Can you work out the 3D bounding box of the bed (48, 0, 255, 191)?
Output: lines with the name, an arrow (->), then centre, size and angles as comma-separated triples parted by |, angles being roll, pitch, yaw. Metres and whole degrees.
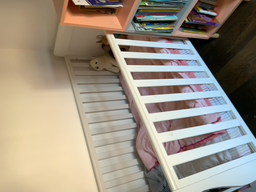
bed -> 0.190, -0.020, 1.580 | 0.610, 1.190, 1.540 | -56, 48, 46
